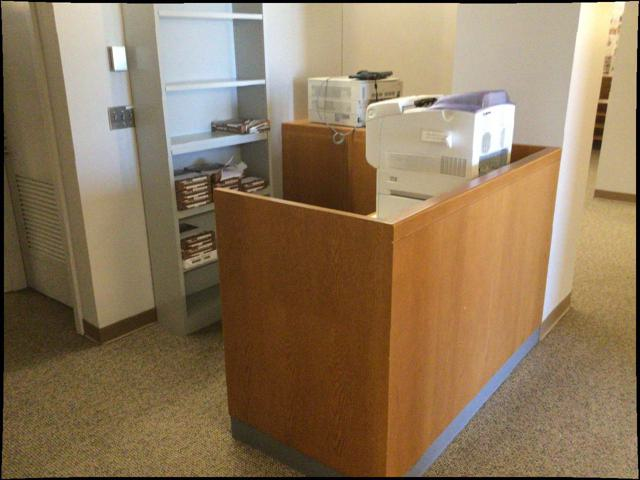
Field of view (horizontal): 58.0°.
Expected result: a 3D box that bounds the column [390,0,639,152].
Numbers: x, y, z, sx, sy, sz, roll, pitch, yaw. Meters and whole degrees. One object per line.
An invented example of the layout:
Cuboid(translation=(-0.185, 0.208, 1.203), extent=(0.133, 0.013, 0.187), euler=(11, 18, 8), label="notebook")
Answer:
Cuboid(translation=(1.028, -1.002, 2.790), extent=(0.769, 0.942, 0.979), euler=(26, 24, 35), label="column")

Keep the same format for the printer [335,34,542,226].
Cuboid(translation=(0.539, -0.481, 2.640), extent=(0.580, 0.611, 0.490), euler=(34, 17, 30), label="printer")

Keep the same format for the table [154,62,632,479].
Cuboid(translation=(0.359, 0.120, 2.460), extent=(0.969, 1.393, 1.678), euler=(26, 24, 35), label="table")
